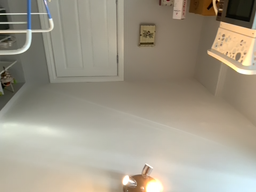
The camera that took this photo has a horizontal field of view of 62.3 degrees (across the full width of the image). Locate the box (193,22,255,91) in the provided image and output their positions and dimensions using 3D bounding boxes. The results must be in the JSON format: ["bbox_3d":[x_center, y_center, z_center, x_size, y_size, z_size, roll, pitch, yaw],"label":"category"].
[{"bbox_3d":[0.920,-0.370,1.830,0.430,0.430,0.600,-3,-153,-6],"label":"box"}]
